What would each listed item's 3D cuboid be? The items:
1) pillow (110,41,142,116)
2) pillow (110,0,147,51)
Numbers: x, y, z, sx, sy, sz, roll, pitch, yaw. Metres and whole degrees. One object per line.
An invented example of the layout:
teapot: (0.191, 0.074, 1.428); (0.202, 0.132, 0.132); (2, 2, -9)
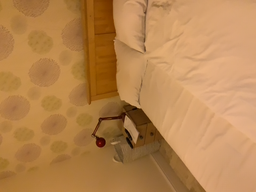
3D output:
pillow: (-0.040, -0.170, 2.120); (0.380, 0.130, 0.630); (50, 145, 47)
pillow: (-0.010, -0.740, 1.720); (0.370, 0.150, 0.630); (50, 145, 48)
